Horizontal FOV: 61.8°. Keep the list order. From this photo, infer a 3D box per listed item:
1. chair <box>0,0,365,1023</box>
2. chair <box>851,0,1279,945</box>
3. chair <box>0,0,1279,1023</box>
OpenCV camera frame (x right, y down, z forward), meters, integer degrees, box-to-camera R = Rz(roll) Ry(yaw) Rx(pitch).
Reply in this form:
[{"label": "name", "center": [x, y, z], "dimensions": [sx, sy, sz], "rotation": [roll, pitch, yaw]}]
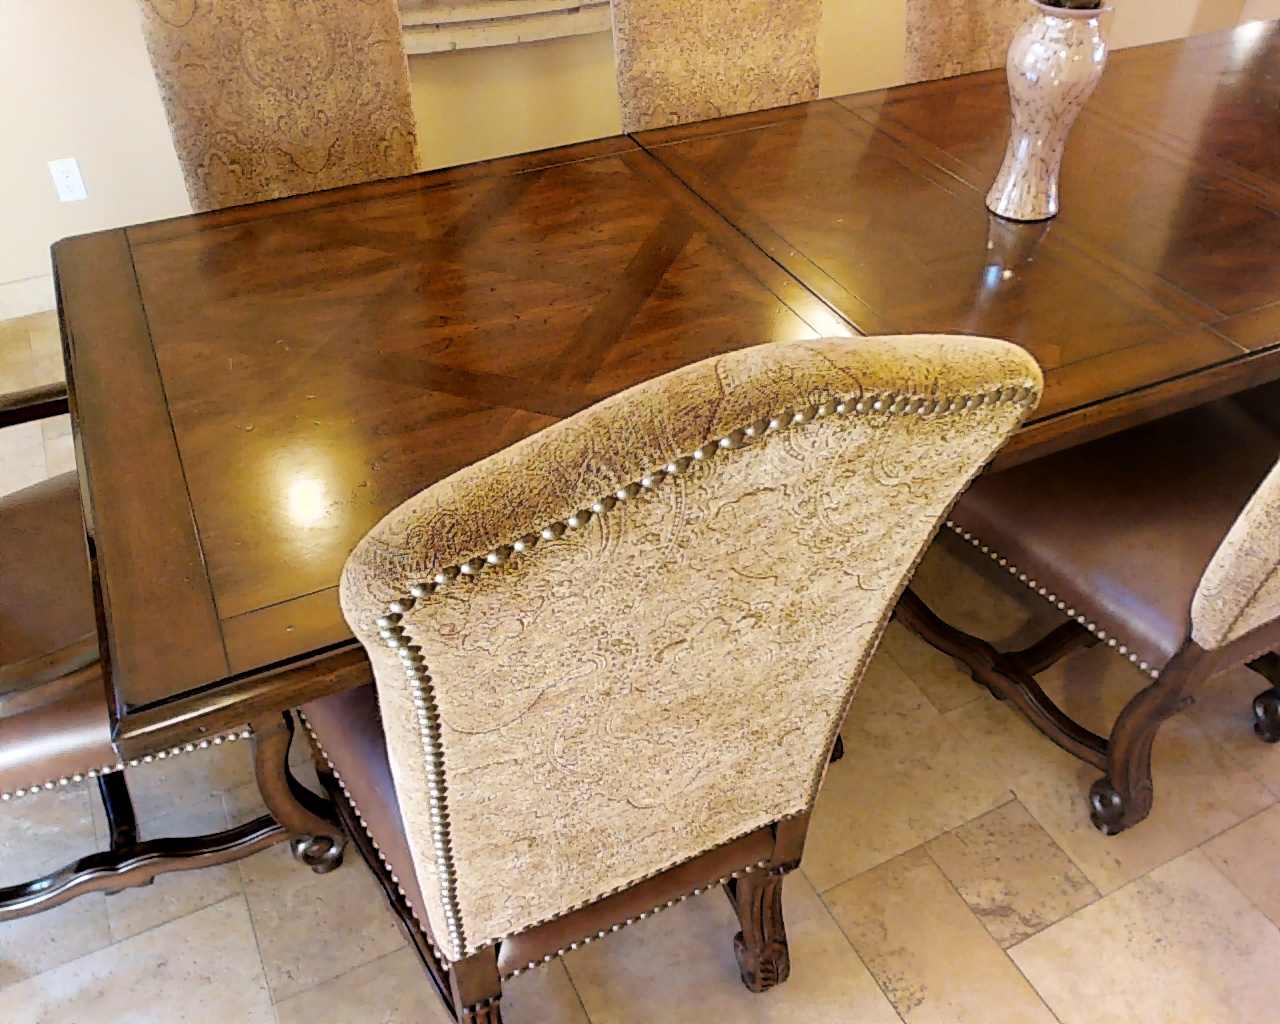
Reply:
[{"label": "chair", "center": [-0.930, 0.030, 1.380], "dimensions": [0.760, 1.220, 0.690], "rotation": [-19, 45, -20]}, {"label": "chair", "center": [0.920, -0.140, 1.590], "dimensions": [0.730, 1.210, 0.770], "rotation": [-19, 45, -20]}, {"label": "chair", "center": [-0.080, 0.170, 1.230], "dimensions": [0.810, 1.210, 0.700], "rotation": [-19, 45, -20]}]
